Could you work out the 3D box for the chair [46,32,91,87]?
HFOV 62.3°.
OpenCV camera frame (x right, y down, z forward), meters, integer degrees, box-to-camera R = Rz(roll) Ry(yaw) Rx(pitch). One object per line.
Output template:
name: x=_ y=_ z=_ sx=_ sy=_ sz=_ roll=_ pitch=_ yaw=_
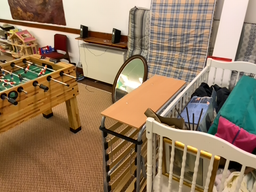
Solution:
chair: x=-1.060 y=-0.670 z=3.850 sx=0.440 sy=0.800 sz=0.520 roll=21 pitch=36 yaw=34
